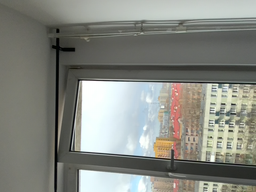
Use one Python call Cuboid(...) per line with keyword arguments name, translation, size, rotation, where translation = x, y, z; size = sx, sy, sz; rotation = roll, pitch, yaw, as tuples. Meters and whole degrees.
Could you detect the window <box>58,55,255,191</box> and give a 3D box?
Cuboid(name="window", translation=(0.290, 0.470, 1.560), size=(0.120, 1.650, 1.500), rotation=(-31, -57, -80))
